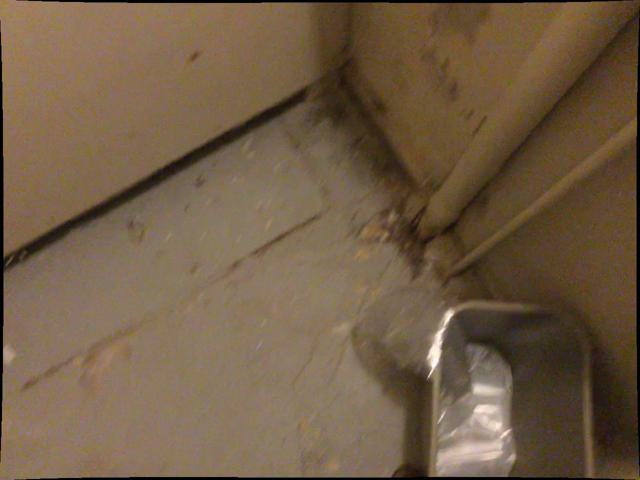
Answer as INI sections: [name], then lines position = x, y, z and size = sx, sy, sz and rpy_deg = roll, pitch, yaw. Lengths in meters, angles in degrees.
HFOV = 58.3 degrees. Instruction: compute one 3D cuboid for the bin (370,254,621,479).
[bin]
position = 0.310, 0.300, 1.130
size = 0.370, 0.450, 0.390
rpy_deg = 5, -12, 3
